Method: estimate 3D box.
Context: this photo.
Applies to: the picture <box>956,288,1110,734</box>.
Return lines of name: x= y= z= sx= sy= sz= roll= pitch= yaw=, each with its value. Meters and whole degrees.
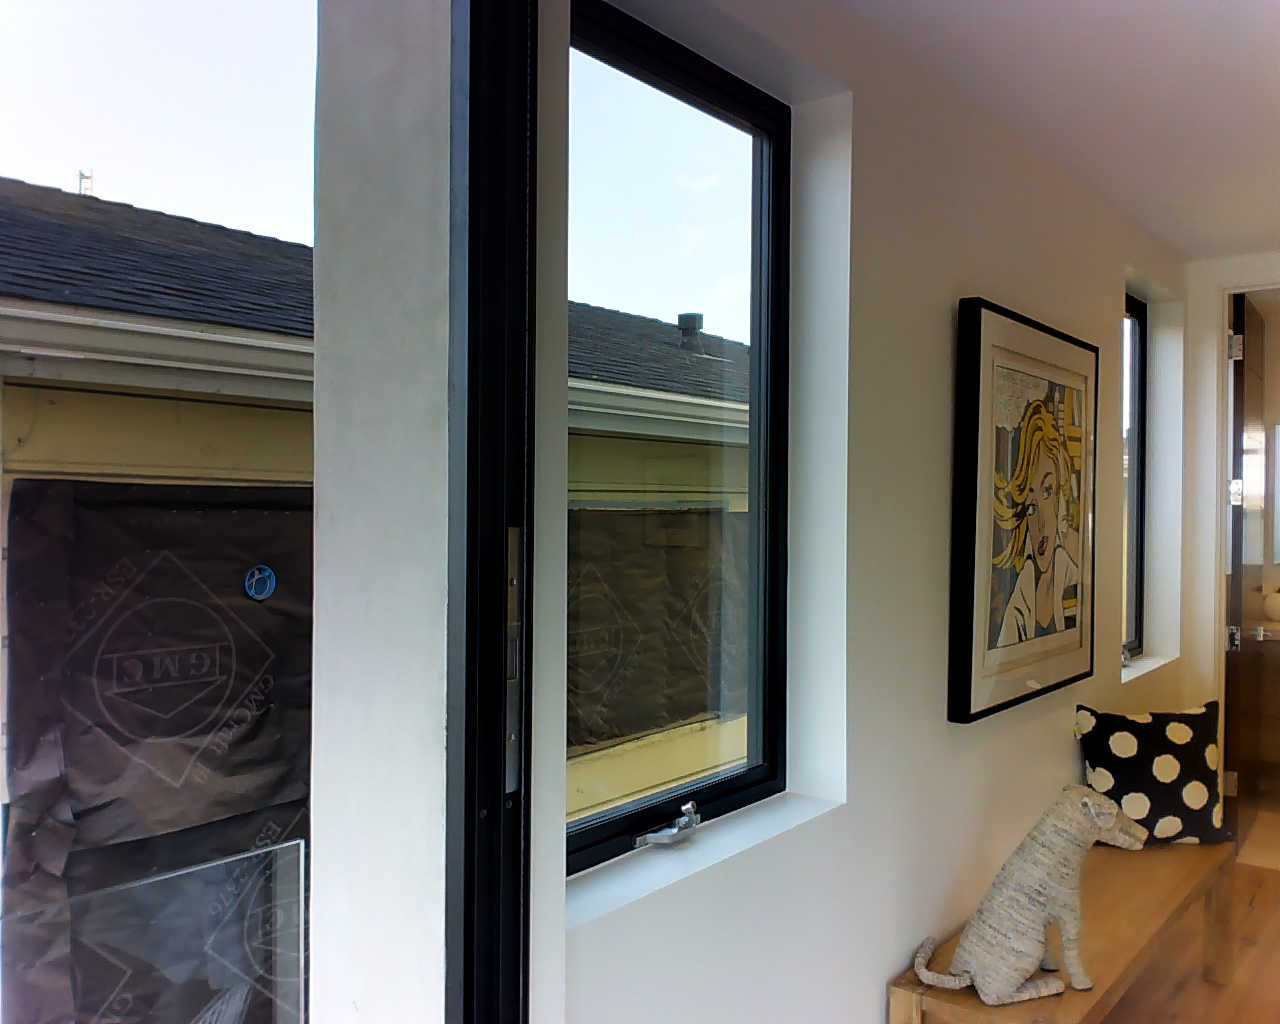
picture: x=1.140 y=0.000 z=3.050 sx=0.070 sy=1.090 sz=1.020 roll=1 pitch=0 yaw=39

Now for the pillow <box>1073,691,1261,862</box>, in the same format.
pillow: x=1.670 y=0.830 z=3.450 sx=0.460 sy=0.440 sz=0.340 roll=1 pitch=0 yaw=10

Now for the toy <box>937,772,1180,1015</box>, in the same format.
toy: x=0.920 y=0.830 z=2.390 sx=0.450 sy=0.440 sz=0.220 roll=1 pitch=0 yaw=-10
